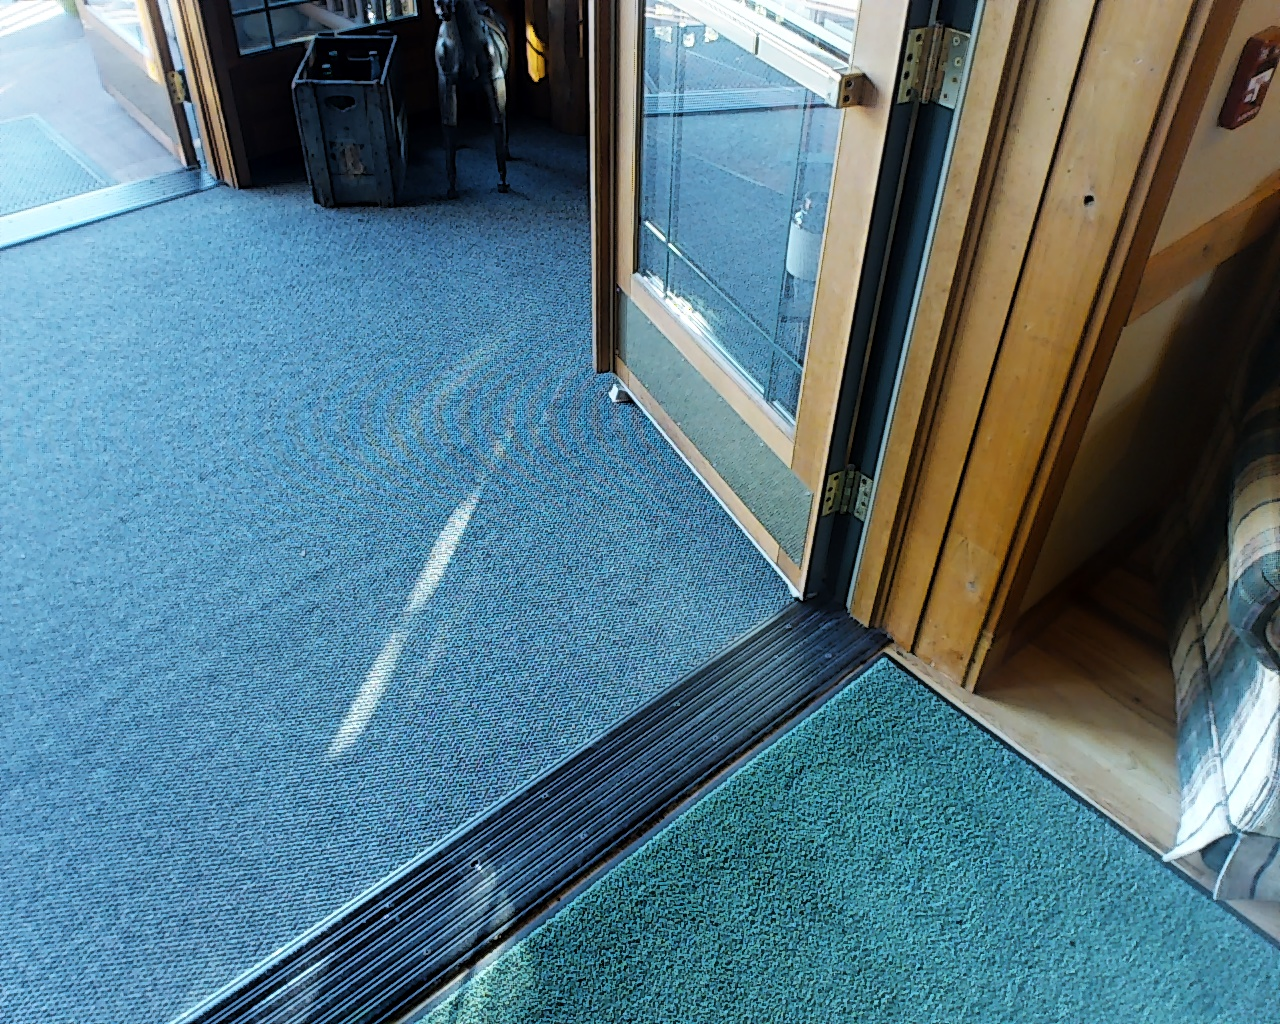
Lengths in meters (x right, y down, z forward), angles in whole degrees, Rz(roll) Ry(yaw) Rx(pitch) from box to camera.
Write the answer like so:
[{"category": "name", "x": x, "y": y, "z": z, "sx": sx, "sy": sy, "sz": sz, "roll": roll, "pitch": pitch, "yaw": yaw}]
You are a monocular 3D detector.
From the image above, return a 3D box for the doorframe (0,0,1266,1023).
[{"category": "doorframe", "x": -0.160, "y": -0.130, "z": 0.960, "sx": 2.080, "sy": 2.440, "sz": 0.360, "roll": -30, "pitch": 50, "yaw": -30}]
